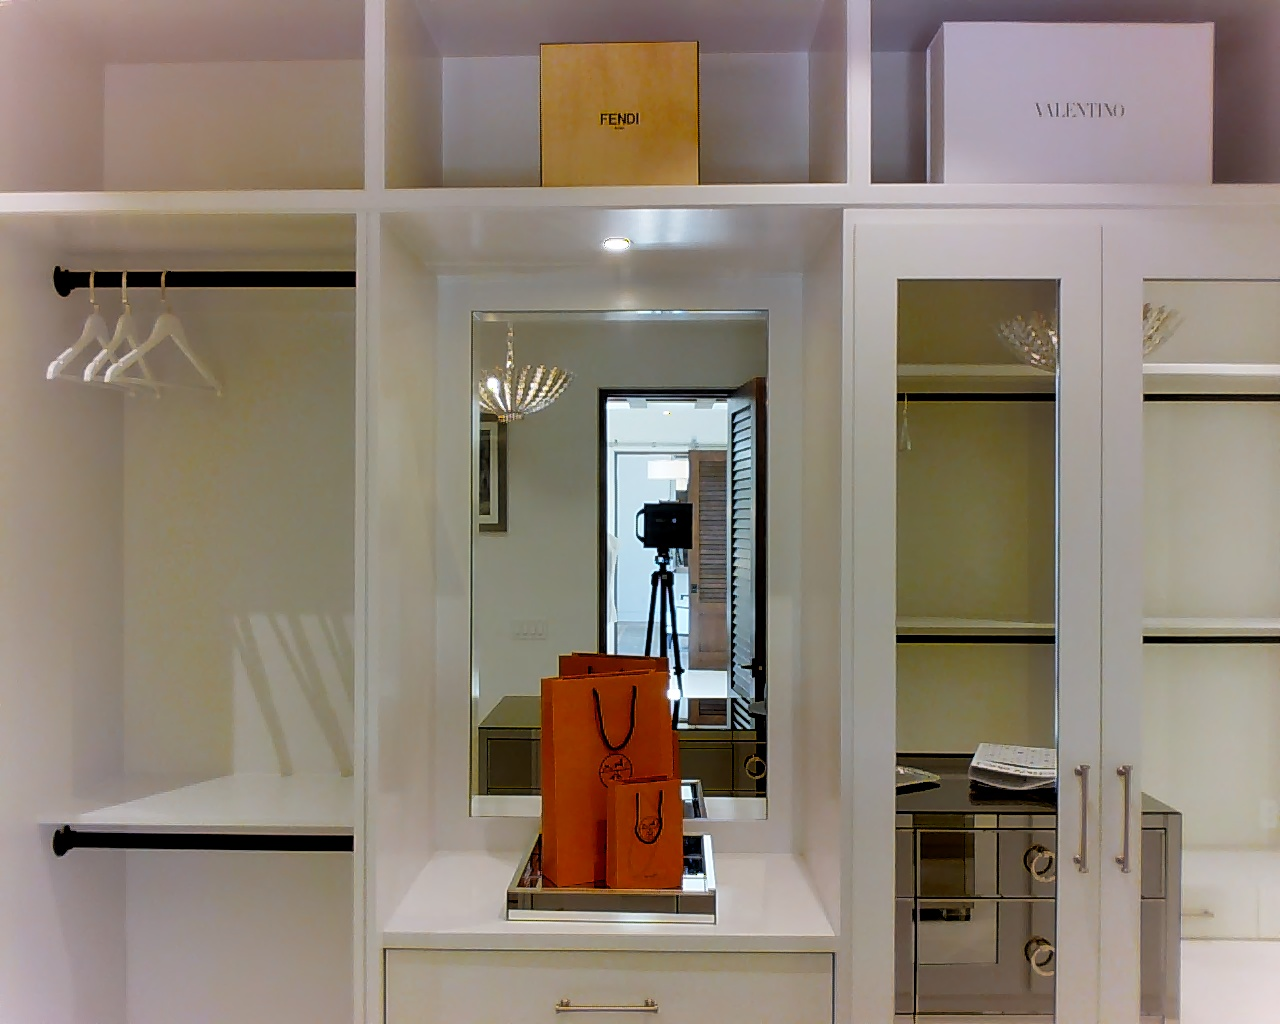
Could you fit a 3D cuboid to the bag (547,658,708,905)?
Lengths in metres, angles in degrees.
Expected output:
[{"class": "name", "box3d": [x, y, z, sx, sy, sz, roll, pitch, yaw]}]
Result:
[{"class": "bag", "box3d": [-0.030, 0.560, 2.310, 0.270, 0.450, 0.230, 1, -1, -26]}]
